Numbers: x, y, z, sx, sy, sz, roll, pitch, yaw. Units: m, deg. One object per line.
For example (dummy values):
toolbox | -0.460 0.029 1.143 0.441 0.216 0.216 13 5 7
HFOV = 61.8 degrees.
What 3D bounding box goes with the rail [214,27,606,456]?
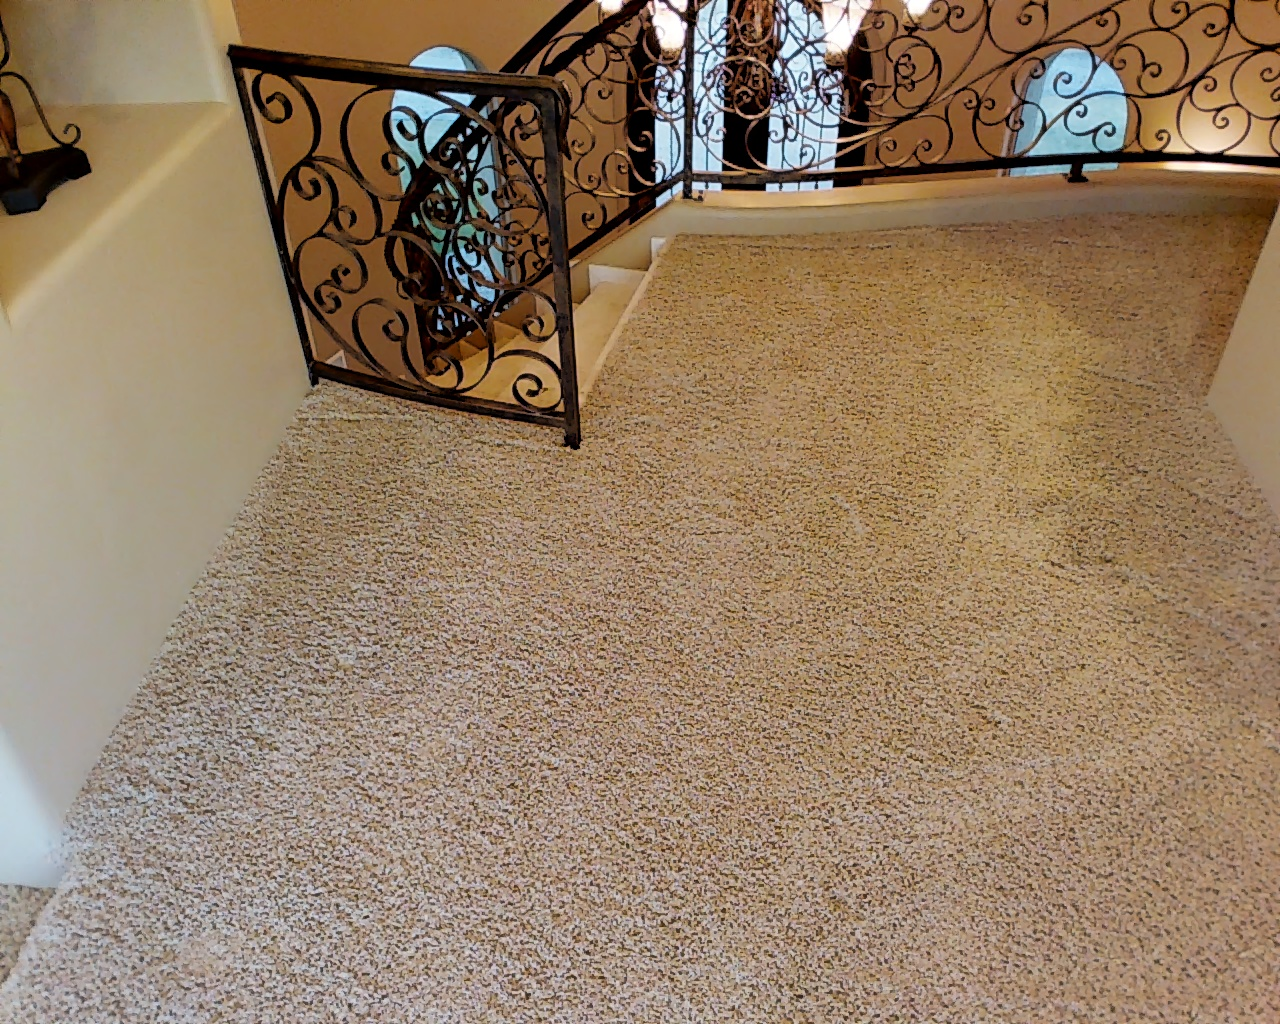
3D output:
rail | -0.510 -0.620 2.560 0.830 0.940 0.110 12 42 17
